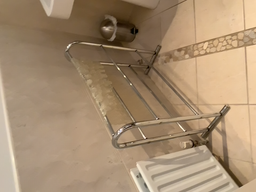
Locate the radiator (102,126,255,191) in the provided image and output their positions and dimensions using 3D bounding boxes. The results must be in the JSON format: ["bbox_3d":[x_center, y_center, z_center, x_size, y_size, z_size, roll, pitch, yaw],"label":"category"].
[{"bbox_3d":[0.360,0.500,0.970,0.760,0.720,0.120,56,132,35],"label":"radiator"}]

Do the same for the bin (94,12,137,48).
[{"bbox_3d":[-0.110,-0.580,1.880,0.170,0.280,0.210,54,131,37],"label":"bin"}]
